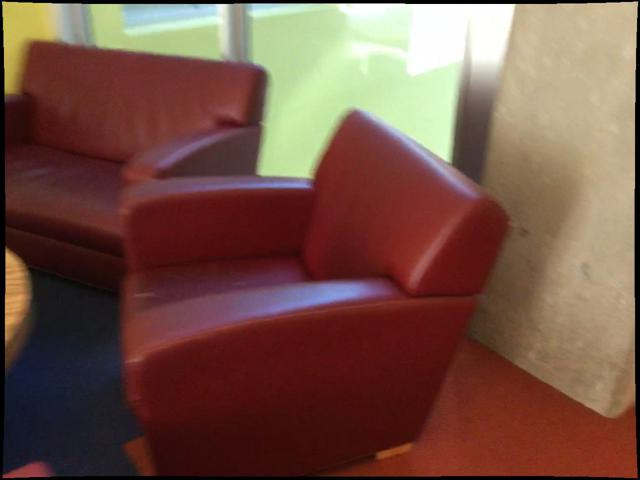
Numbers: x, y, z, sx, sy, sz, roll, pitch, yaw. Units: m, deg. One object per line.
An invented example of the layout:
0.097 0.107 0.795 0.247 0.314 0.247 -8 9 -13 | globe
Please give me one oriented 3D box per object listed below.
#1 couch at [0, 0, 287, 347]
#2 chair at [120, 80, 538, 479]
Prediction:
-0.999 -0.360 2.510 1.339 0.780 0.850 25 36 9 | couch
-0.110 0.110 1.630 0.809 0.781 0.840 1 32 -21 | chair
